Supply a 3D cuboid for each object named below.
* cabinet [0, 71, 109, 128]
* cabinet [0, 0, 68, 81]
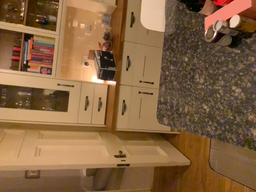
[{"bbox_3d":[-0.980,0.050,2.520,0.350,1.410,0.530,-176,92,-70],"label":"cabinet"},{"bbox_3d":[-1.180,-0.710,2.450,0.310,0.830,0.950,-176,92,-70],"label":"cabinet"}]
